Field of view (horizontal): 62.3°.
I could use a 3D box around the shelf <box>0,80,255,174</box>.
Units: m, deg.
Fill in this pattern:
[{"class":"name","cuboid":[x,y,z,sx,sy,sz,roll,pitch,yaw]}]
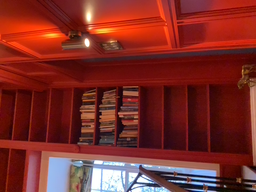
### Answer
[{"class":"shelf","cuboid":[-0.190,0.330,2.780,0.390,3.490,0.950,31,-120,-72]}]
